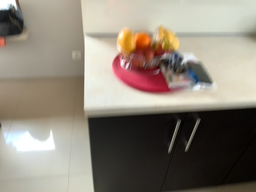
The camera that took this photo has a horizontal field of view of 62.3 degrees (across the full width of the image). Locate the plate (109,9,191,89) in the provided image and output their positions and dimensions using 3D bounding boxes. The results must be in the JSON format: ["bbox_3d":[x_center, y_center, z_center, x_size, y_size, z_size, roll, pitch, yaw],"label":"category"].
[{"bbox_3d":[0.080,-0.240,0.990,0.300,0.150,0.440,3,41,-2],"label":"plate"}]
